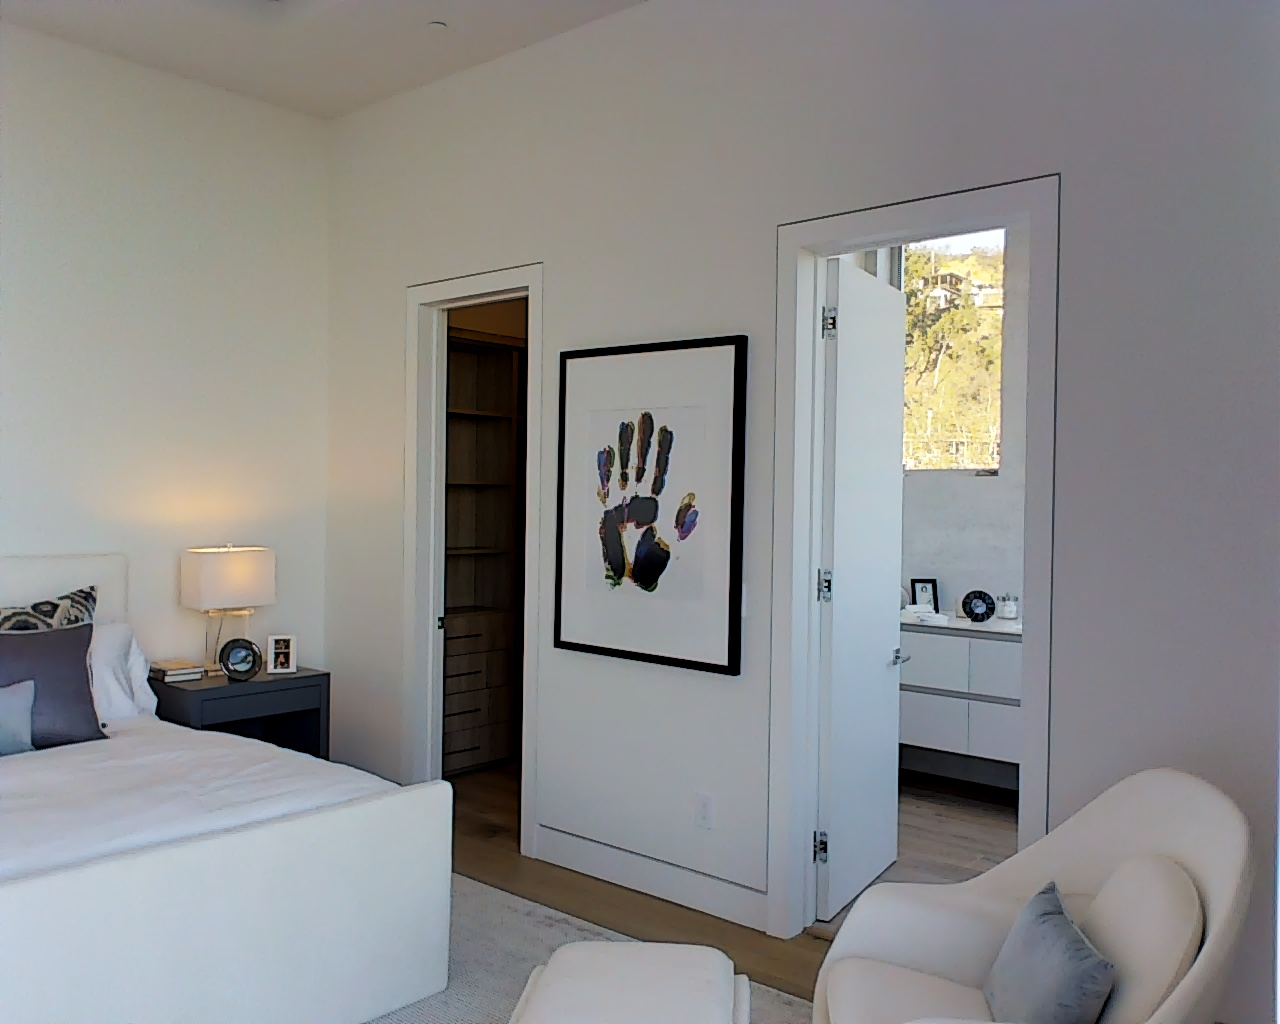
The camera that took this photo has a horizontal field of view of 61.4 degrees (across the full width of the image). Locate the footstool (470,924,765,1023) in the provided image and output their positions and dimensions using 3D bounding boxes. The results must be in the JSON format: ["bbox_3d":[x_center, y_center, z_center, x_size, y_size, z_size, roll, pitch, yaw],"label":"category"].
[{"bbox_3d":[-0.030,1.270,2.460,0.610,0.390,0.610,2,-1,6],"label":"footstool"}]
